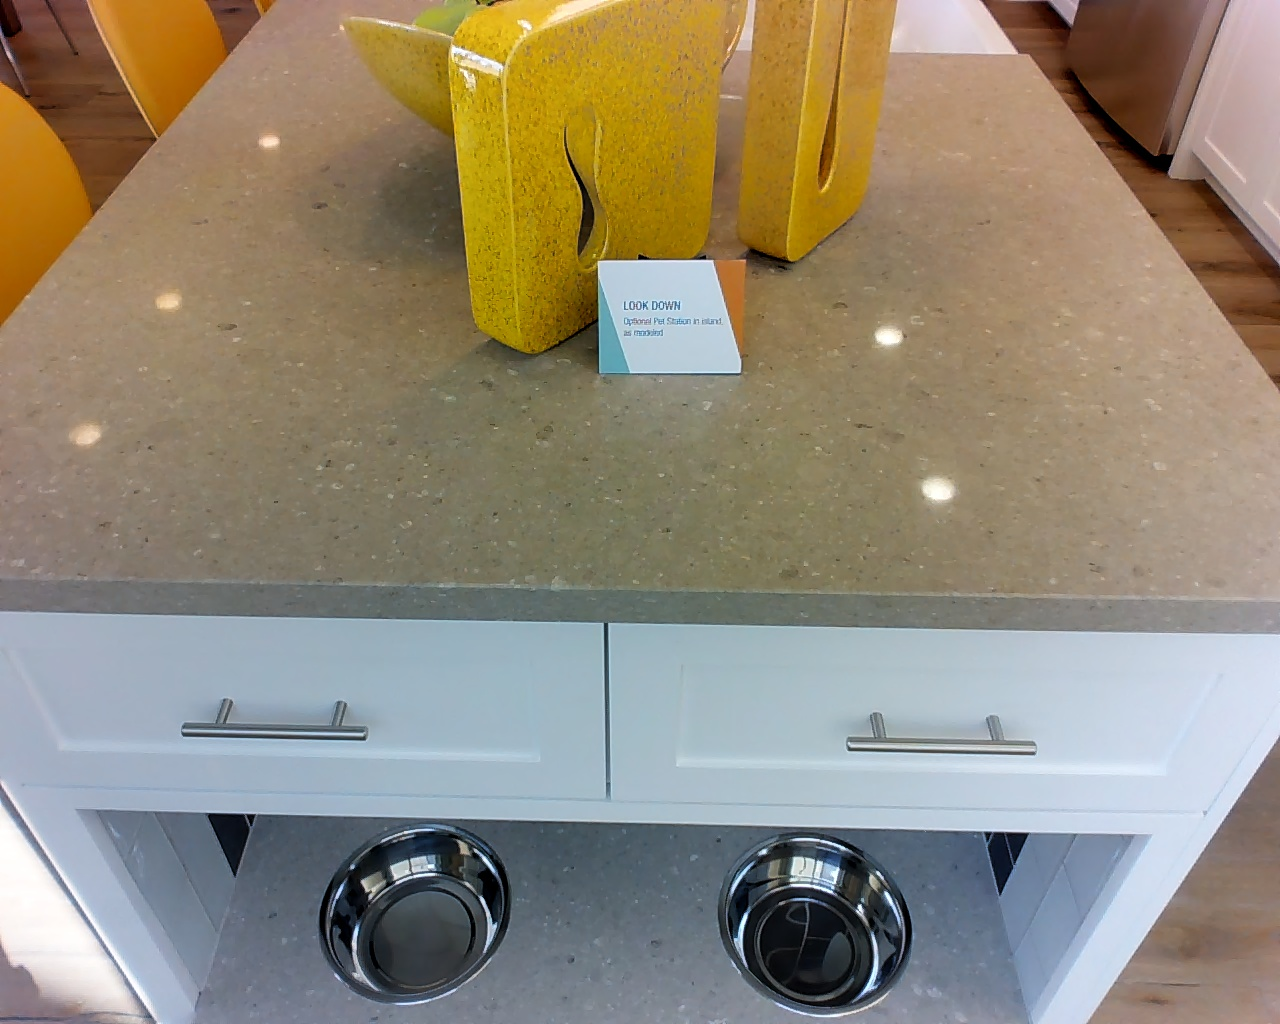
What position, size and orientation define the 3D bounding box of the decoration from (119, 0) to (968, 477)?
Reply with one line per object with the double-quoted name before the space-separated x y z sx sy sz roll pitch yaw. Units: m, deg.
"decoration" -0.010 -0.500 1.070 0.560 0.460 0.740 16 44 17
